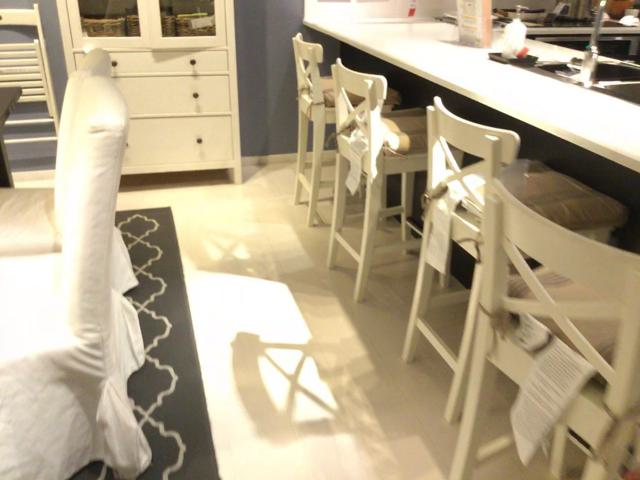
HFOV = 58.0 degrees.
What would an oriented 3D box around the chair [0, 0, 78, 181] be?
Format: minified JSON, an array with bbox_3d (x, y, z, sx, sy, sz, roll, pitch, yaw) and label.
[{"bbox_3d":[-1.750,-0.810,3.190,0.670,0.970,0.120,-5,25,-20],"label":"chair"}]

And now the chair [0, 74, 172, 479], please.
[{"bbox_3d":[-0.800,0.120,1.480,0.710,0.970,0.630,-5,25,-20],"label":"chair"}]

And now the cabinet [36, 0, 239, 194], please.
[{"bbox_3d":[-0.950,-1.280,3.050,0.970,2.000,0.420,-5,28,-19],"label":"cabinet"}]

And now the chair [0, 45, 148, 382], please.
[{"bbox_3d":[-0.990,-0.140,2.010,0.640,0.950,0.740,-5,25,-20],"label":"chair"}]

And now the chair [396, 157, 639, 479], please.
[{"bbox_3d":[0.550,0.340,1.220,0.520,0.900,0.500,-5,25,-20],"label":"chair"}]
